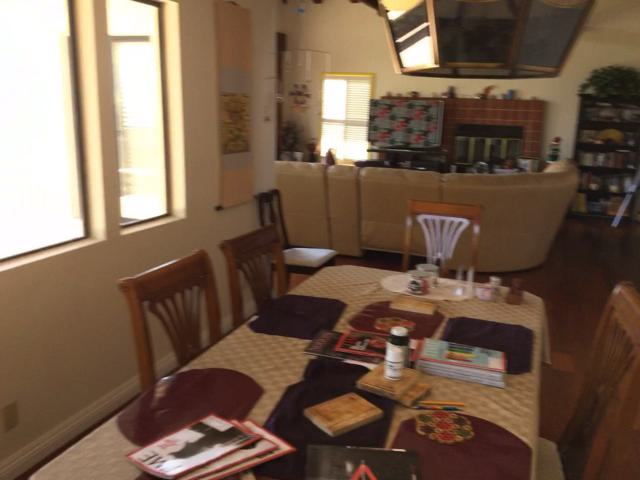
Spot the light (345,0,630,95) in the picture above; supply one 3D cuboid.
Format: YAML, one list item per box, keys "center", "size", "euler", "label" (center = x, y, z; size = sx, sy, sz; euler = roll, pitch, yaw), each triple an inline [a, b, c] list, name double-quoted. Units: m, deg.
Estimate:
- center: [0.440, -0.540, 1.520]
  size: [0.610, 0.280, 0.510]
  euler: [6, 18, 21]
  label: "light"

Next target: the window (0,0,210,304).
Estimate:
- center: [-1.230, -0.490, 2.150]
  size: [0.280, 1.370, 2.440]
  euler: [6, 18, 21]
  label: "window"
